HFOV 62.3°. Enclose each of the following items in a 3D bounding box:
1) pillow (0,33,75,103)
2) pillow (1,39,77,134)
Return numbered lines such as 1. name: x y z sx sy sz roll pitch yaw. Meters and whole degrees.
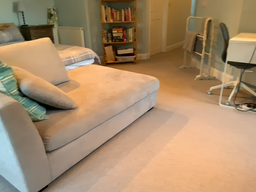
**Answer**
1. pillow: -0.850 -0.260 1.860 0.130 0.510 0.750 40 35 12
2. pillow: -0.680 -0.050 1.560 0.190 0.550 0.450 -8 68 -51
